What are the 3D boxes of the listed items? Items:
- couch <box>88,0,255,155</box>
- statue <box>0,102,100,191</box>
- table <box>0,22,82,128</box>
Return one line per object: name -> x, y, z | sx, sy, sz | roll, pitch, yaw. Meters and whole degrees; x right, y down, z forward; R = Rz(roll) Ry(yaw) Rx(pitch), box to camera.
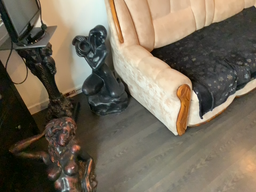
couch -> 0.780, -0.640, 1.810 | 1.860, 0.990, 1.050 | -28, 46, -22
statue -> -0.410, 0.470, 1.220 | 0.430, 0.330, 0.850 | -7, 41, 0
table -> -0.610, -0.120, 1.590 | 0.310, 0.740, 0.300 | -4, 42, 4
